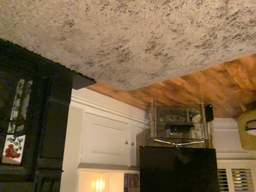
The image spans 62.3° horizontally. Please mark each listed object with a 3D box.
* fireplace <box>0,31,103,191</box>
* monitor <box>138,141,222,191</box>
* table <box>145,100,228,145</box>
[{"bbox_3d":[-1.050,0.270,1.550,0.580,1.350,1.760,-16,154,37],"label":"fireplace"},{"bbox_3d":[0.670,0.950,2.790,1.070,0.690,0.050,2,157,-7],"label":"monitor"},{"bbox_3d":[0.800,0.410,3.070,1.020,0.520,0.470,3,159,-6],"label":"table"}]
